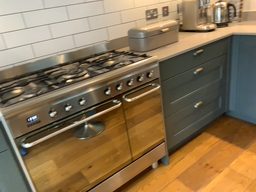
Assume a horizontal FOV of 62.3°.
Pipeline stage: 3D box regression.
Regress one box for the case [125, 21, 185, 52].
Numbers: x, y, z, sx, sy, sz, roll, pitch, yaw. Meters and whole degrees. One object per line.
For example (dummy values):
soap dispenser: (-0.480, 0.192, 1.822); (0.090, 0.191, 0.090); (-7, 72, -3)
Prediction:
case: (0.230, -0.490, 1.700); (0.470, 0.140, 0.190); (-25, 29, -32)
